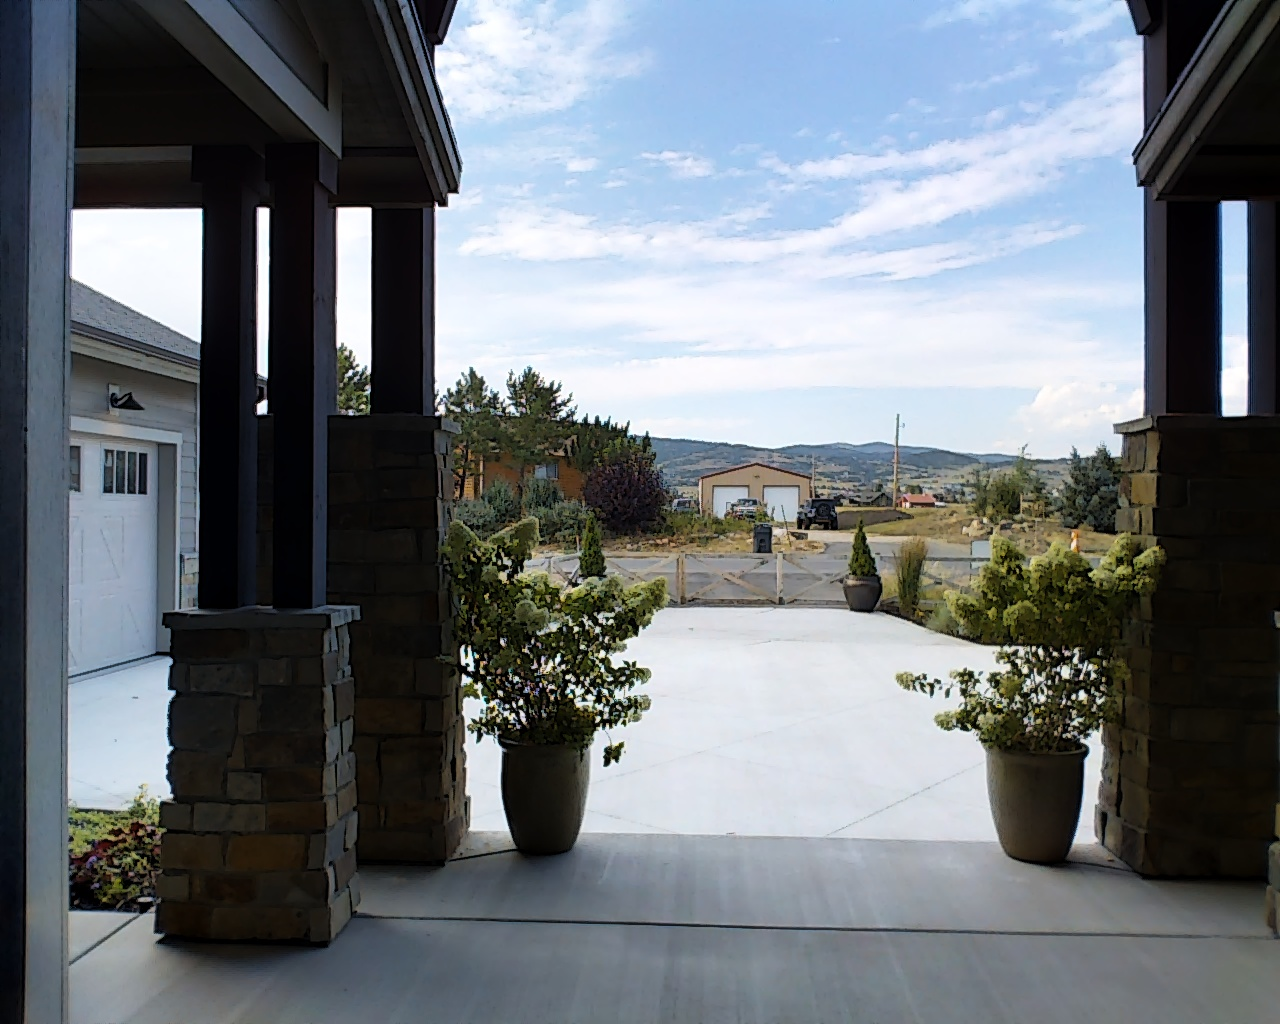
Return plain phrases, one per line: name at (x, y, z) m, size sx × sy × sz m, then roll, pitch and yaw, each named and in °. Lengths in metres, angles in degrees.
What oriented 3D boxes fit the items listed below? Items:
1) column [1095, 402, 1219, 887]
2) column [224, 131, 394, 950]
column at (2.260, 0.550, 4.700) m, size 0.220 × 2.020 × 0.440 m, roll 0°, pitch 0°, yaw -20°
column at (-1.230, 0.100, 4.030) m, size 0.450 × 2.890 × 0.490 m, roll 1°, pitch 0°, yaw 2°
